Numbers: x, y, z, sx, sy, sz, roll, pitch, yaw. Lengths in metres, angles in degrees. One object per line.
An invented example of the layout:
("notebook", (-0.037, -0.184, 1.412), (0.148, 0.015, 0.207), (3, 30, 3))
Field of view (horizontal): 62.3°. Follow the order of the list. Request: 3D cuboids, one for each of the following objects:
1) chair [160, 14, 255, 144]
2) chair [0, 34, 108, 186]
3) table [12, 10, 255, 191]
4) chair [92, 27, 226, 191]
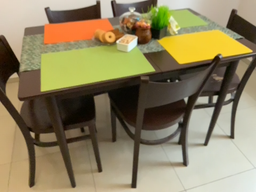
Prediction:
("chair", (0.530, -0.100, 1.470), (0.440, 0.770, 0.380), (-8, 39, -11))
("chair", (-0.400, 0.090, 1.240), (0.440, 0.730, 0.400), (-12, 40, -15))
("table", (0.010, -0.020, 1.370), (1.110, 0.750, 0.700), (-11, 40, -15))
("chair", (0.120, 0.090, 1.230), (0.420, 0.760, 0.480), (-21, 43, -24))
